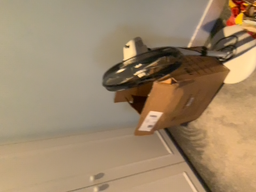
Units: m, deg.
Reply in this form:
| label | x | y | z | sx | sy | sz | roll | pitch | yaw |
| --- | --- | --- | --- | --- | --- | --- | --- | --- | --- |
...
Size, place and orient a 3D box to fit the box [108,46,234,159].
| label | x | y | z | sx | sy | sz | roll | pitch | yaw |
| --- | --- | --- | --- | --- | --- | --- | --- | --- | --- |
| box | 0.300 | 0.060 | 1.760 | 0.400 | 0.660 | 0.790 | 59 | 141 | 40 |
